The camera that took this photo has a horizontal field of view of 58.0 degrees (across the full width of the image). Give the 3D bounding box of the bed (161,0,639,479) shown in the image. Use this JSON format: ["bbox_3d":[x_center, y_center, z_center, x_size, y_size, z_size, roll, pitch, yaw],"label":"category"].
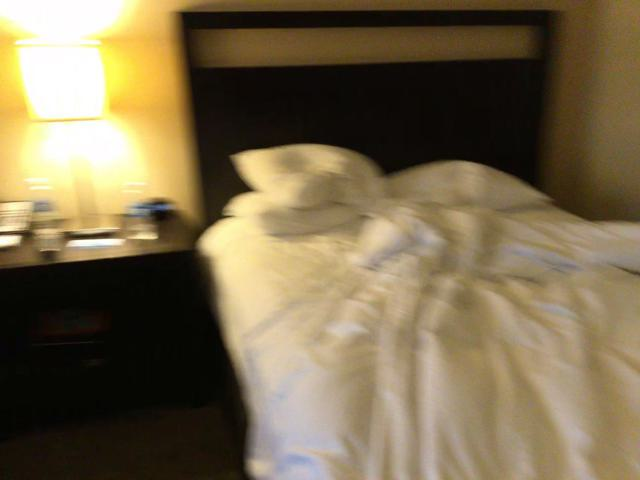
[{"bbox_3d":[0.550,0.050,1.670,1.780,1.590,2.160,-5,19,-15],"label":"bed"}]

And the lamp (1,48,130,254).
[{"bbox_3d":[-0.890,-0.340,2.100,0.310,0.680,0.350,-5,19,-15],"label":"lamp"}]
